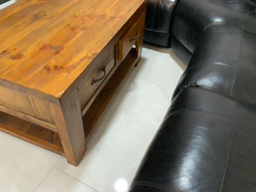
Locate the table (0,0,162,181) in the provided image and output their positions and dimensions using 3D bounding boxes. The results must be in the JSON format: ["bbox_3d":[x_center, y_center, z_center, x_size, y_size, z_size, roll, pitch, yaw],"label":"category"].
[{"bbox_3d":[-0.280,-0.220,1.200,0.620,0.520,1.030,18,47,14],"label":"table"}]
